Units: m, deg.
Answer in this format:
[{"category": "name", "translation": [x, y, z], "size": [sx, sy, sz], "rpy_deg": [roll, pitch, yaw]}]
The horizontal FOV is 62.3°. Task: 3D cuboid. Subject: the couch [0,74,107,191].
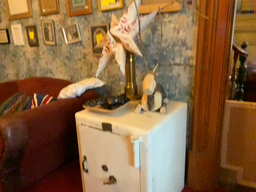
[{"category": "couch", "translation": [-1.130, 0.300, 2.120], "size": [1.430, 0.780, 1.060], "rpy_deg": [8, 19, 31]}]
